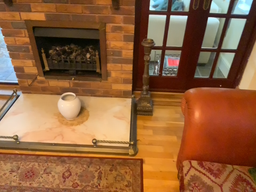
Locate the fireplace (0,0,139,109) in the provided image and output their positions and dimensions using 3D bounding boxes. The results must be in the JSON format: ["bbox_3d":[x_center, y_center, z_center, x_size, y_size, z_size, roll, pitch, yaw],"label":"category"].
[{"bbox_3d":[-0.550,-0.490,2.040,1.230,1.190,0.420,3,37,0],"label":"fireplace"}]

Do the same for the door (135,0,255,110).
[{"bbox_3d":[0.710,-0.780,1.840,1.160,2.080,0.240,3,37,1],"label":"door"}]
